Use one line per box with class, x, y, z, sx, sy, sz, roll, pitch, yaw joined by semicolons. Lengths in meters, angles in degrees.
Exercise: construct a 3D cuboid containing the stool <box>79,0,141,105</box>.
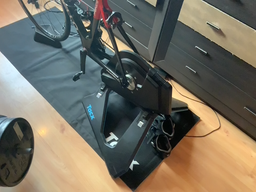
stool;-0.110;-0.340;1.150;0.270;0.970;0.140;40;59;20
